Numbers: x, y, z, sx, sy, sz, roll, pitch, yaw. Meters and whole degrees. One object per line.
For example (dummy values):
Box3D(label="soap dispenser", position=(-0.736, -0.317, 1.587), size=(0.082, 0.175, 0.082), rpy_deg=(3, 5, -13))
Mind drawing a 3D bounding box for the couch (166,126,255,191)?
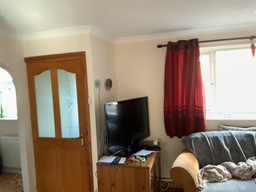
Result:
Box3D(label="couch", position=(1.470, 0.940, 2.390), size=(1.910, 0.950, 1.060), rpy_deg=(-1, 4, 17))
